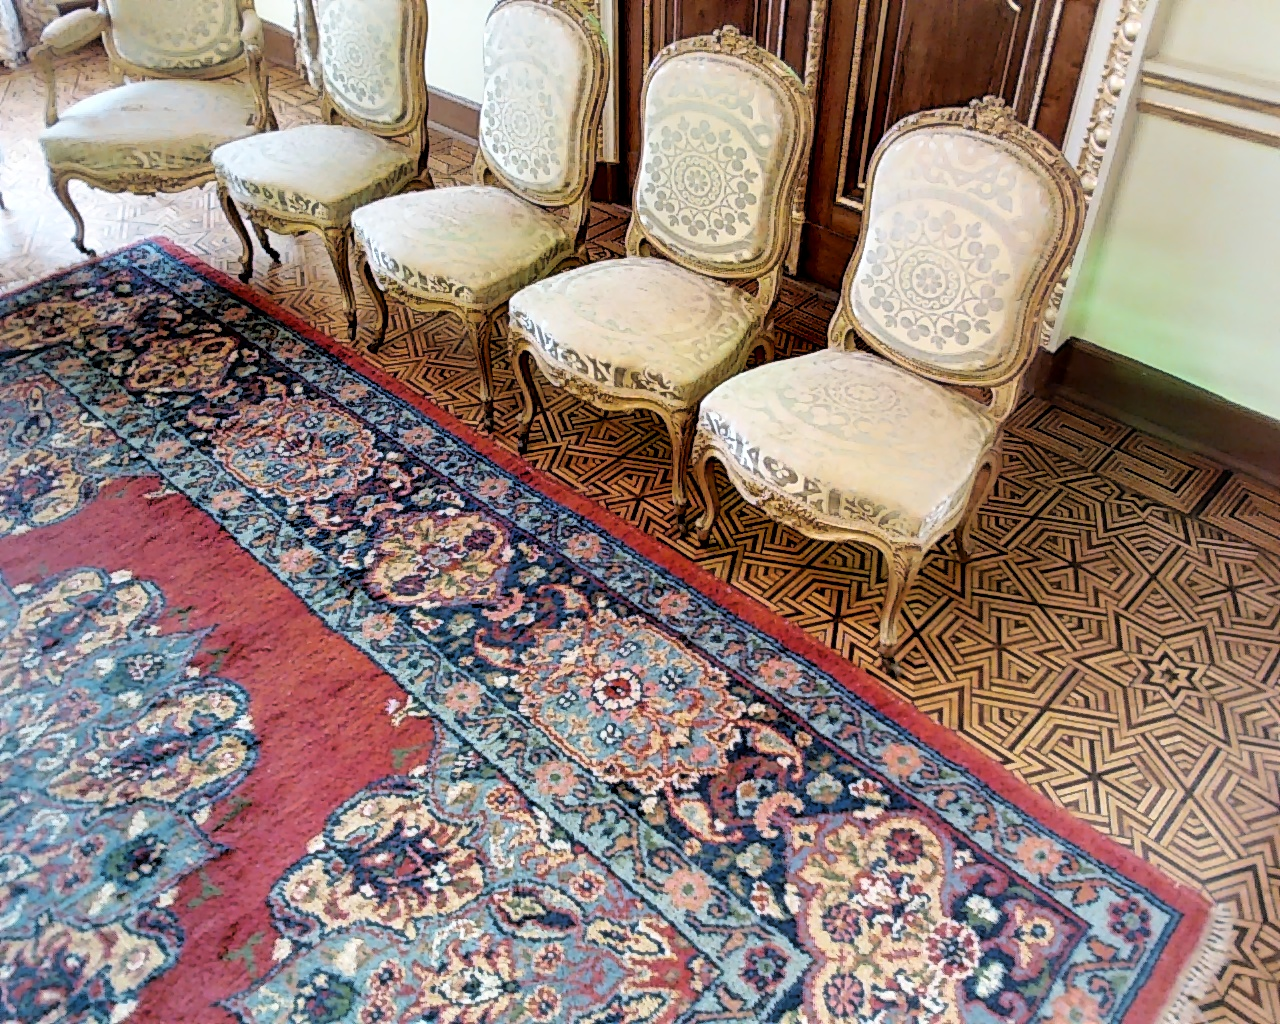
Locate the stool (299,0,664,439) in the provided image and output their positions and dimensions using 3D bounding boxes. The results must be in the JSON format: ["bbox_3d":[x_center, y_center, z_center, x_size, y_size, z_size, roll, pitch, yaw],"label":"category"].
[{"bbox_3d":[-0.370,-0.860,2.850,0.560,1.020,0.650,32,50,31],"label":"stool"}]

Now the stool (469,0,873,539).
[{"bbox_3d":[0.070,-0.590,2.540,0.580,1.000,0.610,29,48,29],"label":"stool"}]

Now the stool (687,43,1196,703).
[{"bbox_3d":[0.540,-0.280,2.200,0.630,1.040,0.580,-32,50,-32],"label":"stool"}]

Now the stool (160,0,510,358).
[{"bbox_3d":[-0.870,-1.130,3.190,0.630,1.020,0.620,30,49,30],"label":"stool"}]

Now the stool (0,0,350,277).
[{"bbox_3d":[-1.510,-1.420,3.530,0.770,1.030,0.750,0,41,0],"label":"stool"}]
